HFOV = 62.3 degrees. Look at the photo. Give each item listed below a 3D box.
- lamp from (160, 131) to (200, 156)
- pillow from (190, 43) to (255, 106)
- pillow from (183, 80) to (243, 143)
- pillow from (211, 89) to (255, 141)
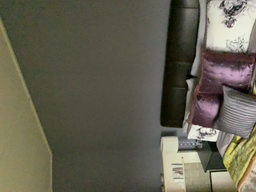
[{"bbox_3d":[0.640,0.590,2.650,0.180,0.430,0.230,-95,3,-53],"label":"lamp"},{"bbox_3d":[0.720,-0.170,1.630,0.220,0.340,0.360,49,146,46],"label":"pillow"},{"bbox_3d":[0.730,0.130,1.860,0.200,0.390,0.420,46,143,49],"label":"pillow"},{"bbox_3d":[0.820,0.140,1.620,0.160,0.240,0.310,-131,35,-50],"label":"pillow"}]
